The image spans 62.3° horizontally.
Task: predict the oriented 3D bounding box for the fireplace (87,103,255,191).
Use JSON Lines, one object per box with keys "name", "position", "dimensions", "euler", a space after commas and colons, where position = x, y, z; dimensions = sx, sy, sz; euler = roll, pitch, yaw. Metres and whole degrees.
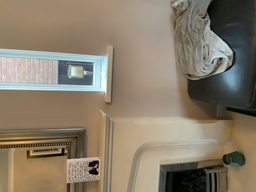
{"name": "fireplace", "position": [0.300, 0.820, 1.670], "dimensions": [0.720, 1.120, 1.430], "euler": [-163, 75, -70]}
